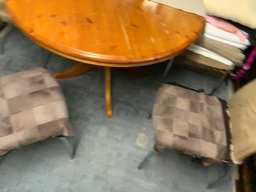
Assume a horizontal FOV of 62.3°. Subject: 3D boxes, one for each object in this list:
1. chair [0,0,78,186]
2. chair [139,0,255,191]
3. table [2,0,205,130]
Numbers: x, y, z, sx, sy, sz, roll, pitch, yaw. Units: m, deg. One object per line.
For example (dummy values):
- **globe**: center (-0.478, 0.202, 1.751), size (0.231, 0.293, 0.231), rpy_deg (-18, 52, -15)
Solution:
- **chair**: center (-0.600, 0.020, 0.990), size (0.570, 0.970, 0.410), rpy_deg (-20, 60, -23)
- **chair**: center (0.480, 0.120, 1.150), size (0.550, 1.000, 0.440), rpy_deg (21, 53, 5)
- **table**: center (-0.080, -0.490, 1.630), size (1.030, 0.780, 0.960), rpy_deg (18, 53, 3)
